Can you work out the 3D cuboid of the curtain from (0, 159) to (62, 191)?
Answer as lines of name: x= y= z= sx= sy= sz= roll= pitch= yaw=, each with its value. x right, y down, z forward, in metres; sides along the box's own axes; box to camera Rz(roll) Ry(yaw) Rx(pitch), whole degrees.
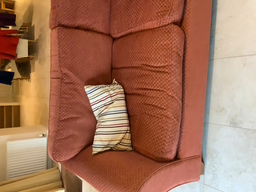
curtain: x=-2.380 y=1.540 z=3.600 sx=0.730 sy=2.290 sz=0.380 roll=-4 pitch=87 yaw=53

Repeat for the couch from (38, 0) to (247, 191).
couch: x=0.020 y=-0.470 z=1.540 sx=1.170 sy=0.920 sz=2.240 roll=10 pitch=98 yaw=52
